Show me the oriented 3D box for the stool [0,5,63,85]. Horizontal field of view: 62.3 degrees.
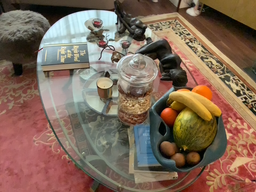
[{"bbox_3d":[-0.780,-0.410,1.690,0.370,0.410,0.410,-14,51,-16],"label":"stool"}]
